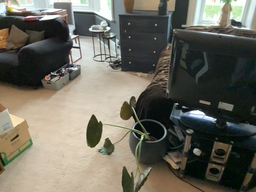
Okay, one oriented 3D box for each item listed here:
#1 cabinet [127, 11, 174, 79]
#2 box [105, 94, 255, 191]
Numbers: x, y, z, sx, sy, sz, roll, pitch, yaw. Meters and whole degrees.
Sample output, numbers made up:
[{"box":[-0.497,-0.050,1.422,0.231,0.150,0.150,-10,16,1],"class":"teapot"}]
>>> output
[{"box":[0.340,-0.820,3.400,0.630,0.940,0.370,10,33,16],"class":"cabinet"},{"box":[0.630,0.490,1.530,1.460,0.570,0.540,11,33,17],"class":"box"}]
